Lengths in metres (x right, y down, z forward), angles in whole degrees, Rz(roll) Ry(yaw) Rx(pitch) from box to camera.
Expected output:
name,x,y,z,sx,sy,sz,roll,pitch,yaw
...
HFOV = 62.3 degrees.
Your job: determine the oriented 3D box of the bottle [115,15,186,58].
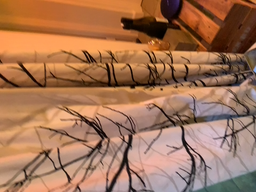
name,x,y,z,sx,sy,sz,roll,pitch,yaw
bottle,0.120,-0.310,1.140,0.110,0.330,0.160,-115,34,-40
